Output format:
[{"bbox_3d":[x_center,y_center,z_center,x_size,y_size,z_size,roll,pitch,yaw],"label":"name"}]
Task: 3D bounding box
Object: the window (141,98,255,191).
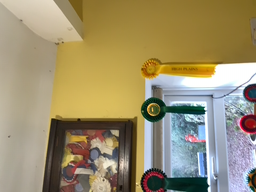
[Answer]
[{"bbox_3d":[0.560,0.630,1.340,0.080,0.950,1.260,55,-143,-72],"label":"window"}]
